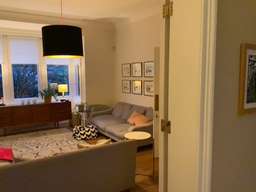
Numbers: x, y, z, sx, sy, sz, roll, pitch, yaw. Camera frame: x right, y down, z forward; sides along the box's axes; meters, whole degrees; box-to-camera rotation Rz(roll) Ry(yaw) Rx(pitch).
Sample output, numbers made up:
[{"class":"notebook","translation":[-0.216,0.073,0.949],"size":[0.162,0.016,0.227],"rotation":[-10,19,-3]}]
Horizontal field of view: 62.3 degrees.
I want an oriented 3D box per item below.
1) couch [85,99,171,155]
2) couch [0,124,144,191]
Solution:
[{"class":"couch","translation":[-0.120,0.600,5.130],"size":[1.090,0.750,2.140],"rotation":[-4,7,-32]},{"class":"couch","translation":[-1.000,0.930,2.470],"size":[2.140,0.730,1.070],"rotation":[-4,7,-32]}]
